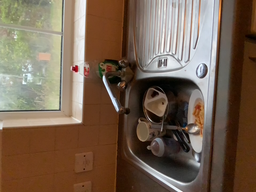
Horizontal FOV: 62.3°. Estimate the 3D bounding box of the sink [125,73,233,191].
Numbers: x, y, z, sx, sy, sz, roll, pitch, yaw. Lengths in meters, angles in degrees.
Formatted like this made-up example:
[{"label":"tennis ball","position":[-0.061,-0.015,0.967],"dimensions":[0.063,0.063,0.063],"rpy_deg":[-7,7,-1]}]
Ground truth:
[{"label":"sink","position":[0.160,0.100,0.830],"dimensions":[0.410,0.150,0.360],"rpy_deg":[8,96,59]}]
